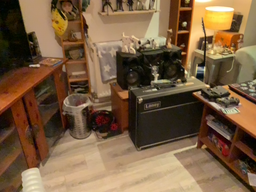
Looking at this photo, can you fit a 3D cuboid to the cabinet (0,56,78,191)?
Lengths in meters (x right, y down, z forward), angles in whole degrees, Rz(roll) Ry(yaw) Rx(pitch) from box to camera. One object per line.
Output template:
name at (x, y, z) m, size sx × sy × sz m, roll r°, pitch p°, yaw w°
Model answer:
cabinet at (-0.950, 0.240, 1.640) m, size 0.620 × 0.710 × 1.230 m, roll 5°, pitch 29°, yaw 9°
